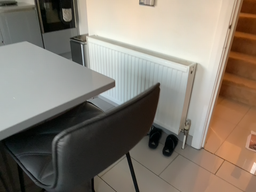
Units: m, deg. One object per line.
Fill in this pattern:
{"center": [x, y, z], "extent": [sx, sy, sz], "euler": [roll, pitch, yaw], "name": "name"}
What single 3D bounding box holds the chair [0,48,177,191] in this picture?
{"center": [-0.170, 0.380, 0.900], "extent": [0.460, 1.000, 0.410], "euler": [26, 38, 35], "name": "chair"}
